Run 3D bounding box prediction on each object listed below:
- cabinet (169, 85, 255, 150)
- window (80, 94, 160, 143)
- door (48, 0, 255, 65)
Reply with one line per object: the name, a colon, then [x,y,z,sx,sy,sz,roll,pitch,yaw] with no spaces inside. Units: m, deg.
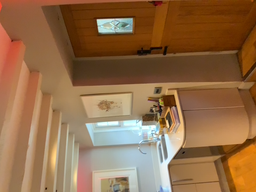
cabinet: [1.020,0.250,2.530,0.380,0.900,0.620,93,173,-59]
window: [-0.140,0.440,3.780,1.100,1.220,0.320,92,174,-56]
door: [0.380,-0.680,2.140,0.840,2.090,0.130,93,173,-59]
